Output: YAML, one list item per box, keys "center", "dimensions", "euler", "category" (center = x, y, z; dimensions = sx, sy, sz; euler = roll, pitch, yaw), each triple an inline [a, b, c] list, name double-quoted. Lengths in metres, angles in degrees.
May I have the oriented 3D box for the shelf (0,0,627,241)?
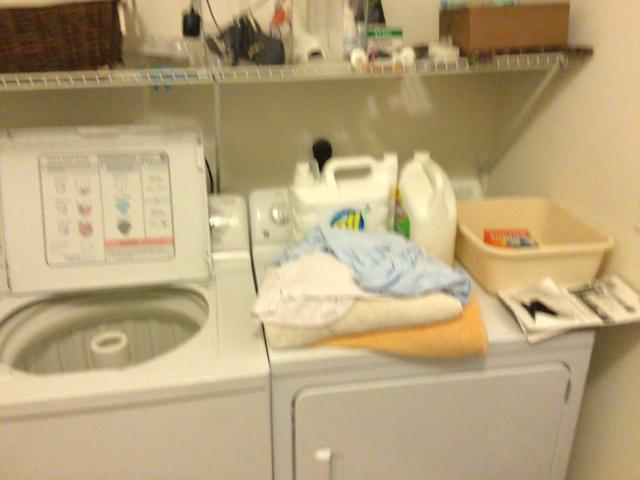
- center: [-0.230, -0.660, 1.280]
  dimensions: [1.650, 1.120, 0.610]
  euler: [-4, 21, -11]
  category: "shelf"
